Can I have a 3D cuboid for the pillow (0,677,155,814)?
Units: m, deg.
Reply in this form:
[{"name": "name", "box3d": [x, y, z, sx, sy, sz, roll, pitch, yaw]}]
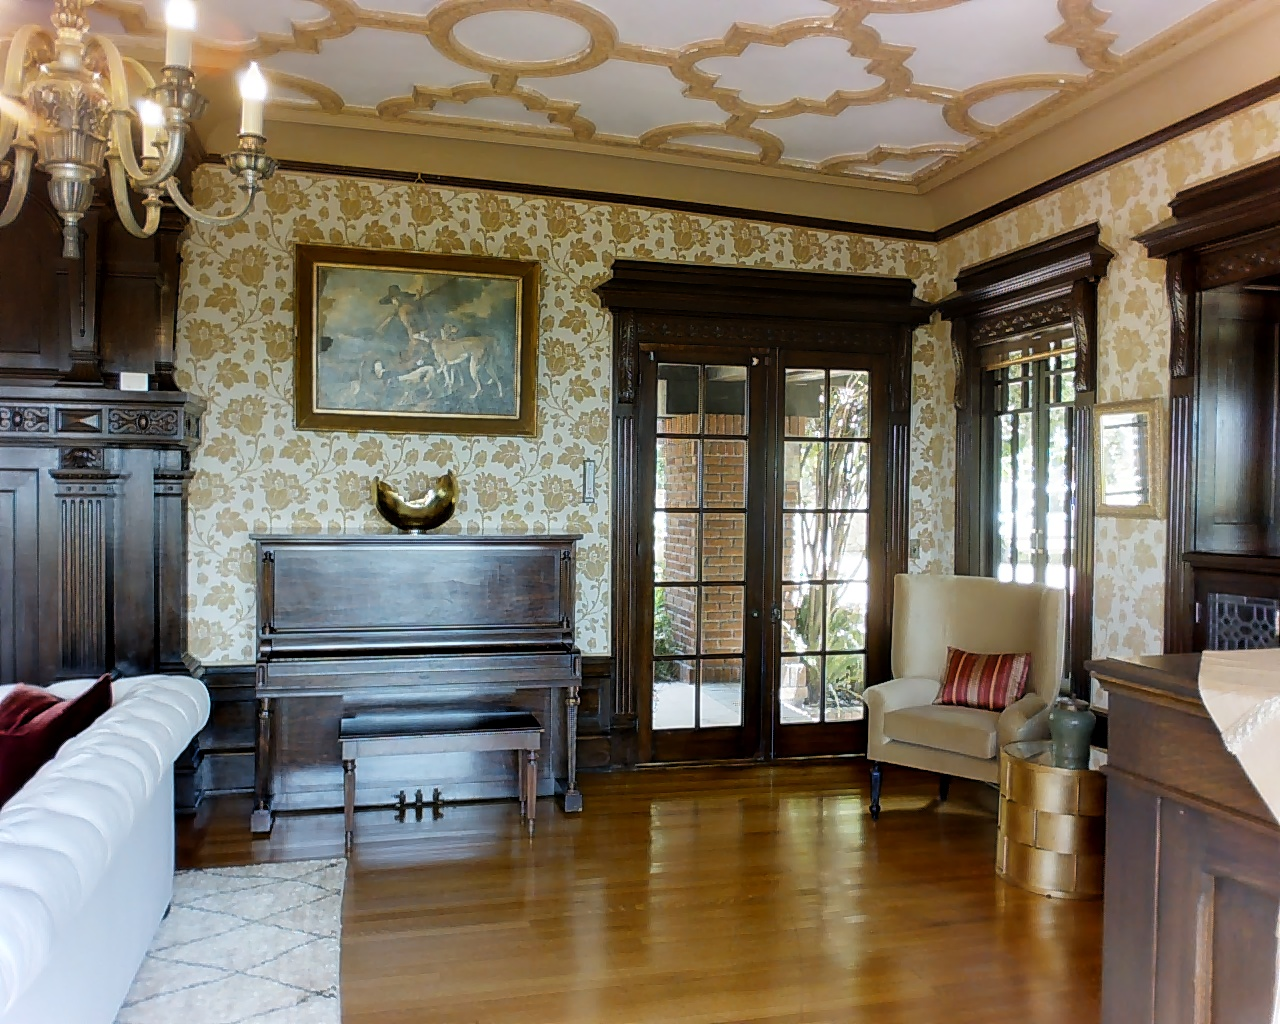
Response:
[{"name": "pillow", "box3d": [-1.940, 0.740, 3.450, 0.610, 0.390, 0.340, -3, -7, 7]}]
